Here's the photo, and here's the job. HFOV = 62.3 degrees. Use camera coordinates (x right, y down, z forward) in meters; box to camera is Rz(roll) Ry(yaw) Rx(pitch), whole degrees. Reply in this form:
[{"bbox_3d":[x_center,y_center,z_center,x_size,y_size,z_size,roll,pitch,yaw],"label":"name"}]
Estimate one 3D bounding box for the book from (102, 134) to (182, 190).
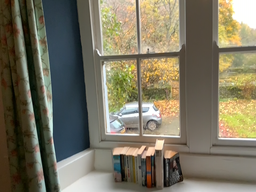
[{"bbox_3d":[0.100,0.390,1.320,0.450,0.230,0.230,-1,9,15],"label":"book"}]
